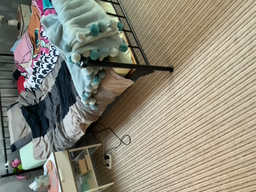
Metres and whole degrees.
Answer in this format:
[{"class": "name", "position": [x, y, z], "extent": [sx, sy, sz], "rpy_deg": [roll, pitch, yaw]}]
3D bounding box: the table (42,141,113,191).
[{"class": "table", "position": [-0.550, 0.820, 2.250], "extent": [0.430, 0.530, 0.470], "rpy_deg": [-45, 57, 43]}]
